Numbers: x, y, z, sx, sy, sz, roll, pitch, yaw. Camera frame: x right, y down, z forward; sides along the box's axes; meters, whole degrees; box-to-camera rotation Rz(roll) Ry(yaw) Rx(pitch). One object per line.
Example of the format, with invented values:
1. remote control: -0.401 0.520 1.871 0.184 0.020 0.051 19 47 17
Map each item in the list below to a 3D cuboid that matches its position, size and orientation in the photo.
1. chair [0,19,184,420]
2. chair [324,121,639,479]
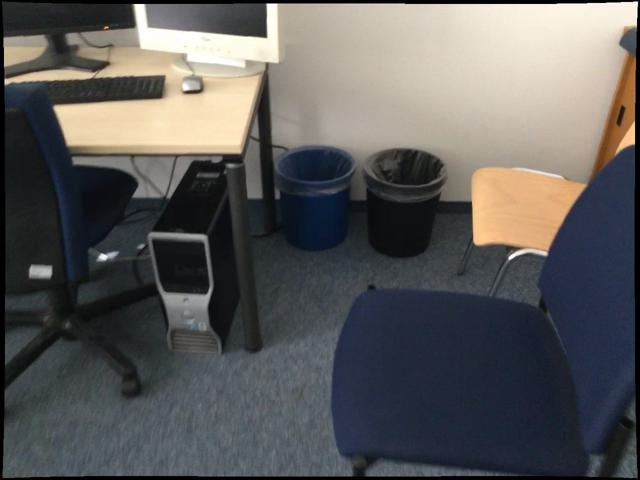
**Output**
1. chair: -0.819 -0.050 1.570 0.639 0.901 0.600 1 36 2
2. chair: 0.330 0.230 1.170 0.629 0.791 0.480 1 36 2
